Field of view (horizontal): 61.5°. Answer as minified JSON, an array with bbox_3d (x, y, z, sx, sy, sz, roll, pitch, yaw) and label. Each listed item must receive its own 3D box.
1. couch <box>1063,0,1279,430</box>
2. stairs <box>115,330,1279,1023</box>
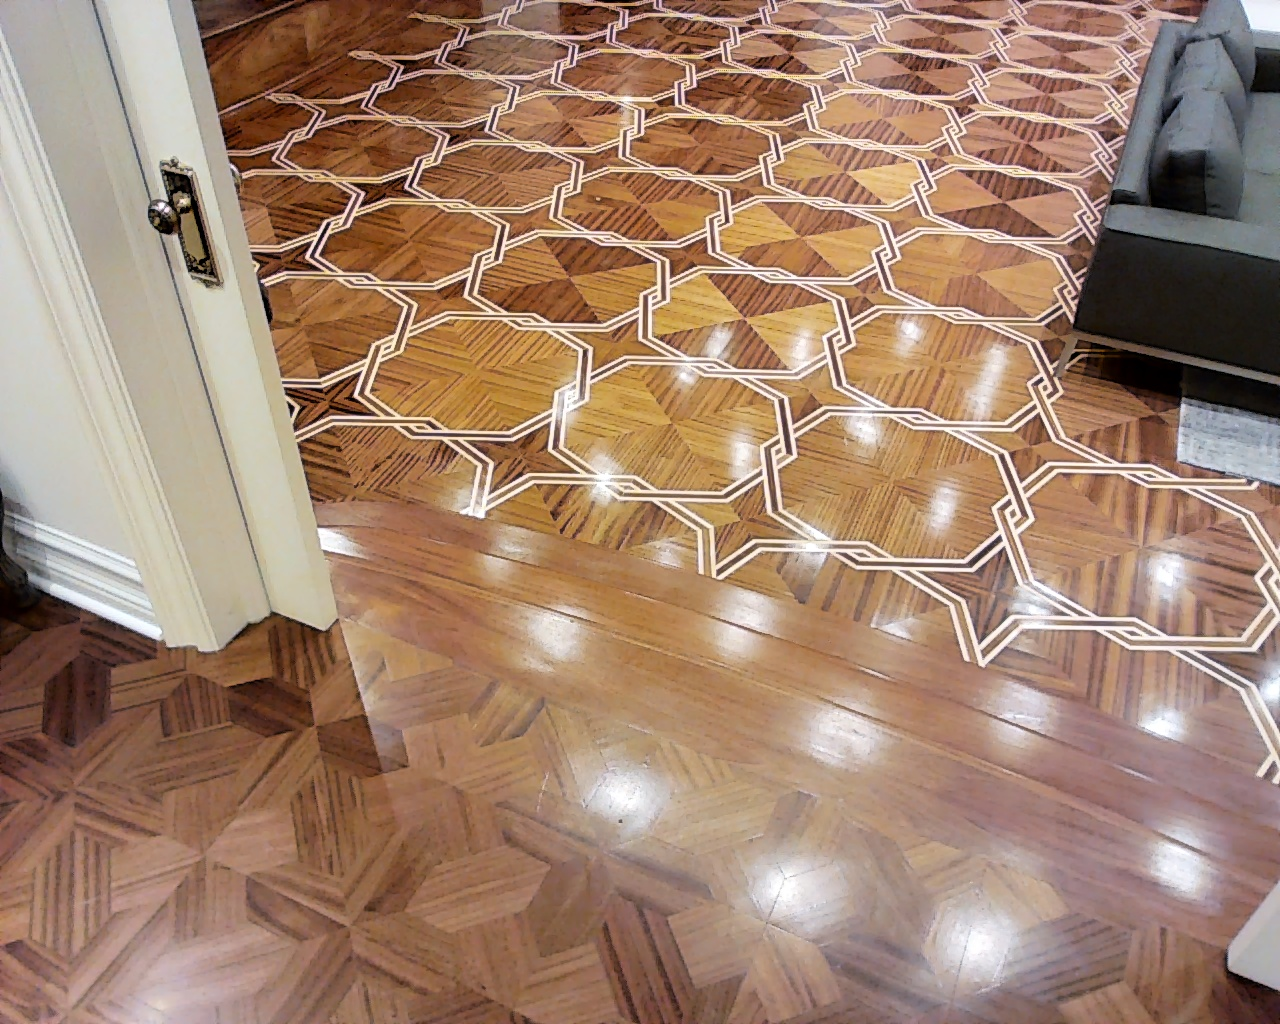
[{"bbox_3d":[2.570,-1.400,4.400,1.070,0.850,2.500,17,43,18],"label":"couch"},{"bbox_3d":[0.390,0.350,2.510,3.350,0.550,0.670,17,43,18],"label":"stairs"}]
